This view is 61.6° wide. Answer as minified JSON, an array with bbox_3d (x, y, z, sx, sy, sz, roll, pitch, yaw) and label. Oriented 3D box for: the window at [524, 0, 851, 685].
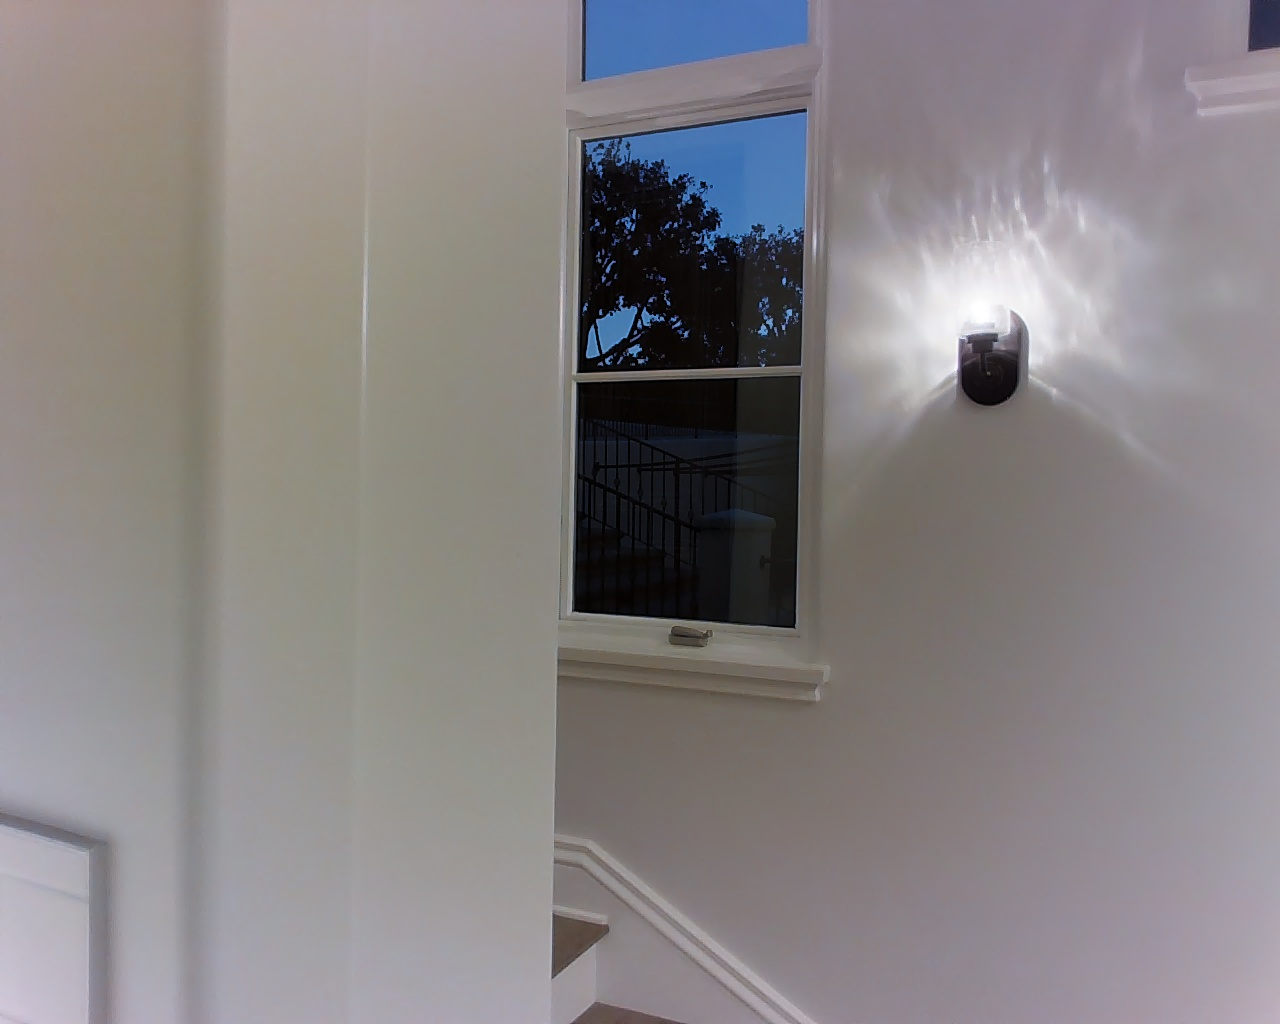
[{"bbox_3d":[0.100,-0.530,2.560,0.750,1.801,0.160,1,1,25],"label":"window"}]
